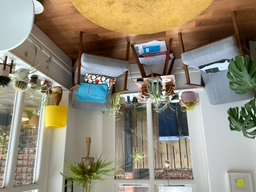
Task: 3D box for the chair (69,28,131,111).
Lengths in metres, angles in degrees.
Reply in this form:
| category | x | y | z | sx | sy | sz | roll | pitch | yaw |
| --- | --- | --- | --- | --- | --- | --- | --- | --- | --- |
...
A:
| category | x | y | z | sx | sy | sz | roll | pitch | yaw |
| --- | --- | --- | --- | --- | --- | --- | --- | --- | --- |
| chair | -0.400 | -0.270 | 2.770 | 0.560 | 0.730 | 0.870 | 6 | 162 | -22 |

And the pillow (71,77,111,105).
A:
| category | x | y | z | sx | sy | sz | roll | pitch | yaw |
| --- | --- | --- | --- | --- | --- | --- | --- | --- | --- |
| pillow | -0.510 | -0.050 | 2.880 | 0.460 | 0.230 | 0.400 | 6 | 162 | -21 |

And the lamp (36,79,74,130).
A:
| category | x | y | z | sx | sy | sz | roll | pitch | yaw |
| --- | --- | --- | --- | --- | --- | --- | --- | --- | --- |
| lamp | -0.950 | 0.130 | 2.780 | 0.370 | 0.580 | 0.280 | 9 | 161 | -30 |

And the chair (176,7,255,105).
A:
| category | x | y | z | sx | sy | sz | roll | pitch | yaw |
| --- | --- | --- | --- | --- | --- | --- | --- | --- | --- |
| chair | 1.020 | -0.380 | 2.450 | 0.560 | 0.760 | 0.770 | -14 | 159 | 37 |
